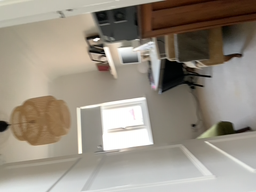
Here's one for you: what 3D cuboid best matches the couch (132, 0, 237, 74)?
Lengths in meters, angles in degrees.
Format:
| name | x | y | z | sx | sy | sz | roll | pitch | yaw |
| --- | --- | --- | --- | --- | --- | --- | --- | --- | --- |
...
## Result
| name | x | y | z | sx | sy | sz | roll | pitch | yaw |
| --- | --- | --- | --- | --- | --- | --- | --- | --- | --- |
| couch | 0.560 | -0.790 | 2.410 | 0.750 | 0.910 | 0.950 | -88 | -9 | -83 |
